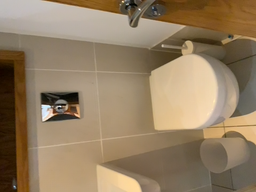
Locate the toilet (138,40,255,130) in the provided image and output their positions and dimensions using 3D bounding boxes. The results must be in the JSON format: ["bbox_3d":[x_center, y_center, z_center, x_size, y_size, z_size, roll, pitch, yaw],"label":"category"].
[{"bbox_3d":[0.430,-0.020,1.250,0.550,0.490,0.380,-19,75,60],"label":"toilet"}]
